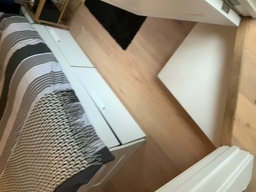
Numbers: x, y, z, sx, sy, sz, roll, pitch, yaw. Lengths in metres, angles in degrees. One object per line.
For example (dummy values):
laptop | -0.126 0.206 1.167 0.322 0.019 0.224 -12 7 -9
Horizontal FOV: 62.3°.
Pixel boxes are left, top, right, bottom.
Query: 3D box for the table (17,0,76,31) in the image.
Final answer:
table | -0.910 -1.020 2.360 0.380 0.420 0.360 51 122 26
